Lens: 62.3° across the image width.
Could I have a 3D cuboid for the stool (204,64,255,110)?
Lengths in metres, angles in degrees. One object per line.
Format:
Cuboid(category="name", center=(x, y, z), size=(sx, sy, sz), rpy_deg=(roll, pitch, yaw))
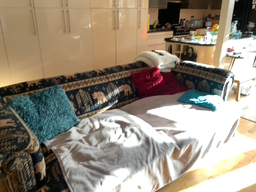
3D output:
Cuboid(category="stool", center=(1.850, -0.200, 3.590), size=(1.230, 0.450, 0.390), rpy_deg=(-16, 27, -35))
